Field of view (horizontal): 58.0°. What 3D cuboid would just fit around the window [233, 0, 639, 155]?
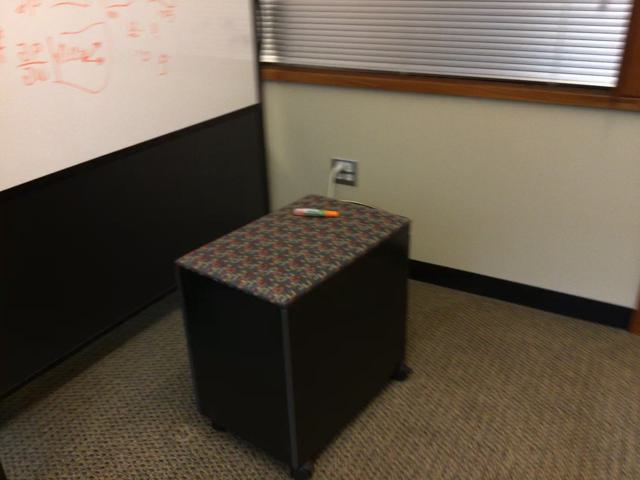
[{"bbox_3d":[0.370,-0.990,1.820,1.560,1.150,0.150,18,30,28],"label":"window"}]

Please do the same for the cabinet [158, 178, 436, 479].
[{"bbox_3d":[-0.050,0.230,1.740,0.480,0.590,0.640,20,31,31],"label":"cabinet"}]

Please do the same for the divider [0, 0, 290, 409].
[{"bbox_3d":[-0.600,-0.470,1.810,0.180,1.550,1.500,18,30,27],"label":"divider"}]
